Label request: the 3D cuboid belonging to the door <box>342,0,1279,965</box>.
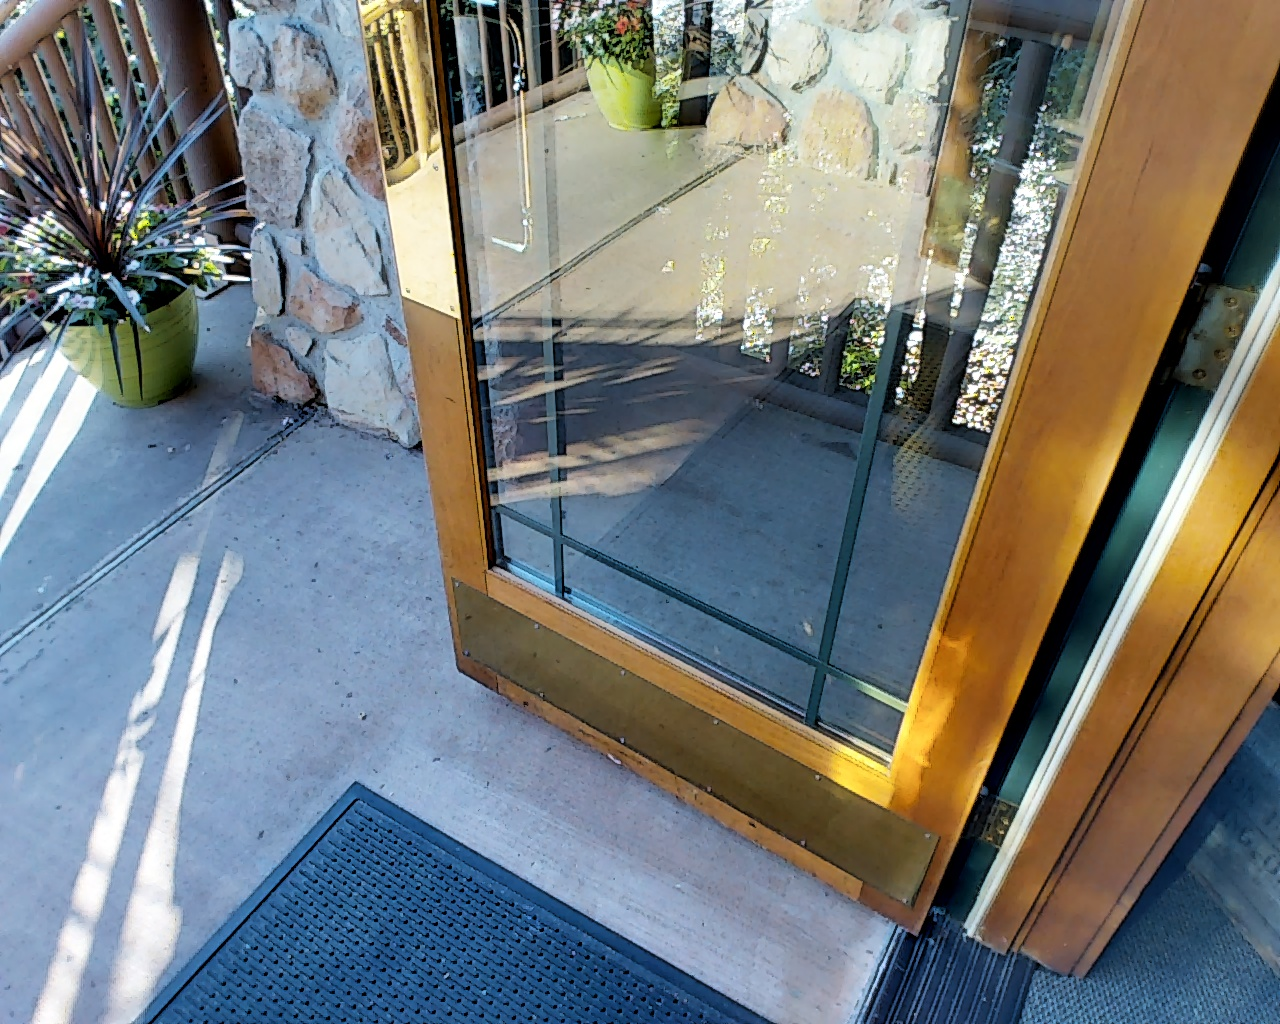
[{"bbox_3d":[0.080,-0.300,1.130,0.870,2.110,0.140,25,47,24],"label":"door"}]
